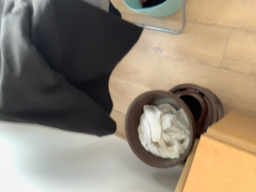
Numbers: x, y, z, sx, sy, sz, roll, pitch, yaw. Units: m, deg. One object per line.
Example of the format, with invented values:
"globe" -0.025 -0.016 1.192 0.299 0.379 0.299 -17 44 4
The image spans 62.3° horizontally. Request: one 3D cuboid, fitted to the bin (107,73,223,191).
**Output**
"bin" 0.210 0.170 1.090 0.320 0.440 0.460 25 103 28
